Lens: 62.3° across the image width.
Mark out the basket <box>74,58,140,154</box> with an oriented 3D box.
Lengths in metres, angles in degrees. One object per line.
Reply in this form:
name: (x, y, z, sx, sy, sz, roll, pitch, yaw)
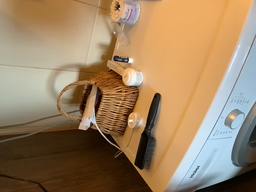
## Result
basket: (-0.090, 0.030, 0.760, 0.200, 0.090, 0.270, 43, 122, 46)
